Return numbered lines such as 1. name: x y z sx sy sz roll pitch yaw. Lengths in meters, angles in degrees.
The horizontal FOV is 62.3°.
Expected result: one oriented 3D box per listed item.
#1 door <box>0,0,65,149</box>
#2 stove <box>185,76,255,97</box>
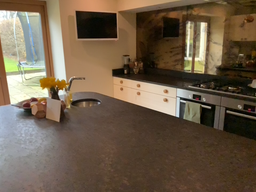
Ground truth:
1. door: -2.210 -0.280 2.880 2.490 2.230 0.370 -12 20 -37
2. stove: 1.270 -0.140 2.680 0.490 0.060 0.950 -15 21 -42
